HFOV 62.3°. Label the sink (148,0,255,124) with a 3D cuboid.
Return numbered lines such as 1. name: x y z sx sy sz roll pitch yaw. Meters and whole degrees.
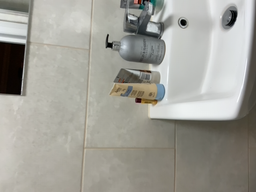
1. sink: 0.210 -0.210 0.550 0.410 0.160 0.550 162 111 -73
